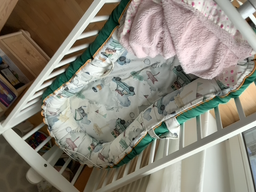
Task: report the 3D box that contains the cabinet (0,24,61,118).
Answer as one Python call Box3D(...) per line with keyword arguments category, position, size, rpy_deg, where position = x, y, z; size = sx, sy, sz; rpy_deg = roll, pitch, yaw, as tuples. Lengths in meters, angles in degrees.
Box3D(category="cabinet", position=(-0.850, -0.180, 1.500), size=(0.350, 0.470, 0.430), rpy_deg=(-37, 101, 31))
